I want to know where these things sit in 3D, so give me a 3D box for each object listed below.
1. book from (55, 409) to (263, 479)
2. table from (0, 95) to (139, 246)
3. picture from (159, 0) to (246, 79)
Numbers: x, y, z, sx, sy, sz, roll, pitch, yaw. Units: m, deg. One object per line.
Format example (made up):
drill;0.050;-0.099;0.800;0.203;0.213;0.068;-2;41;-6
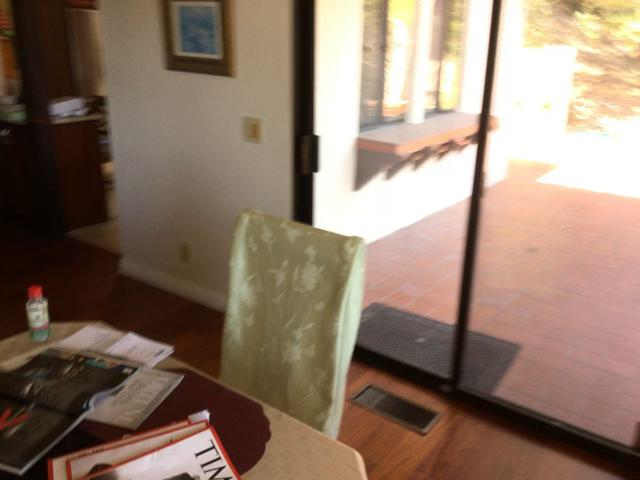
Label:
book;-0.280;0.420;1.010;0.310;0.040;0.270;-6;20;-28
table;-2.450;-0.670;4.820;1.820;0.870;0.840;16;21;33
picture;-0.600;-1.050;2.910;0.510;0.420;0.100;16;21;33
